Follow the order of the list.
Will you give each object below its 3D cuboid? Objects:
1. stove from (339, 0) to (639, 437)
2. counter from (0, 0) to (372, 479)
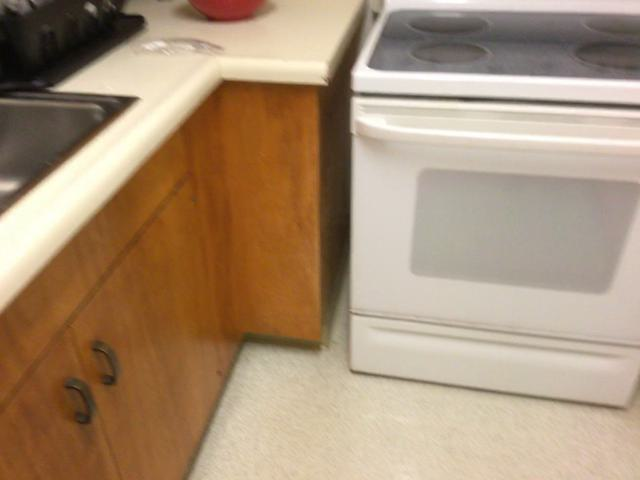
[{"bbox_3d":[0.530,-0.220,1.540,0.850,1.160,0.790,5,35,8],"label":"stove"},{"bbox_3d":[-0.480,-0.310,1.050,0.980,0.250,1.840,5,35,8],"label":"counter"}]
